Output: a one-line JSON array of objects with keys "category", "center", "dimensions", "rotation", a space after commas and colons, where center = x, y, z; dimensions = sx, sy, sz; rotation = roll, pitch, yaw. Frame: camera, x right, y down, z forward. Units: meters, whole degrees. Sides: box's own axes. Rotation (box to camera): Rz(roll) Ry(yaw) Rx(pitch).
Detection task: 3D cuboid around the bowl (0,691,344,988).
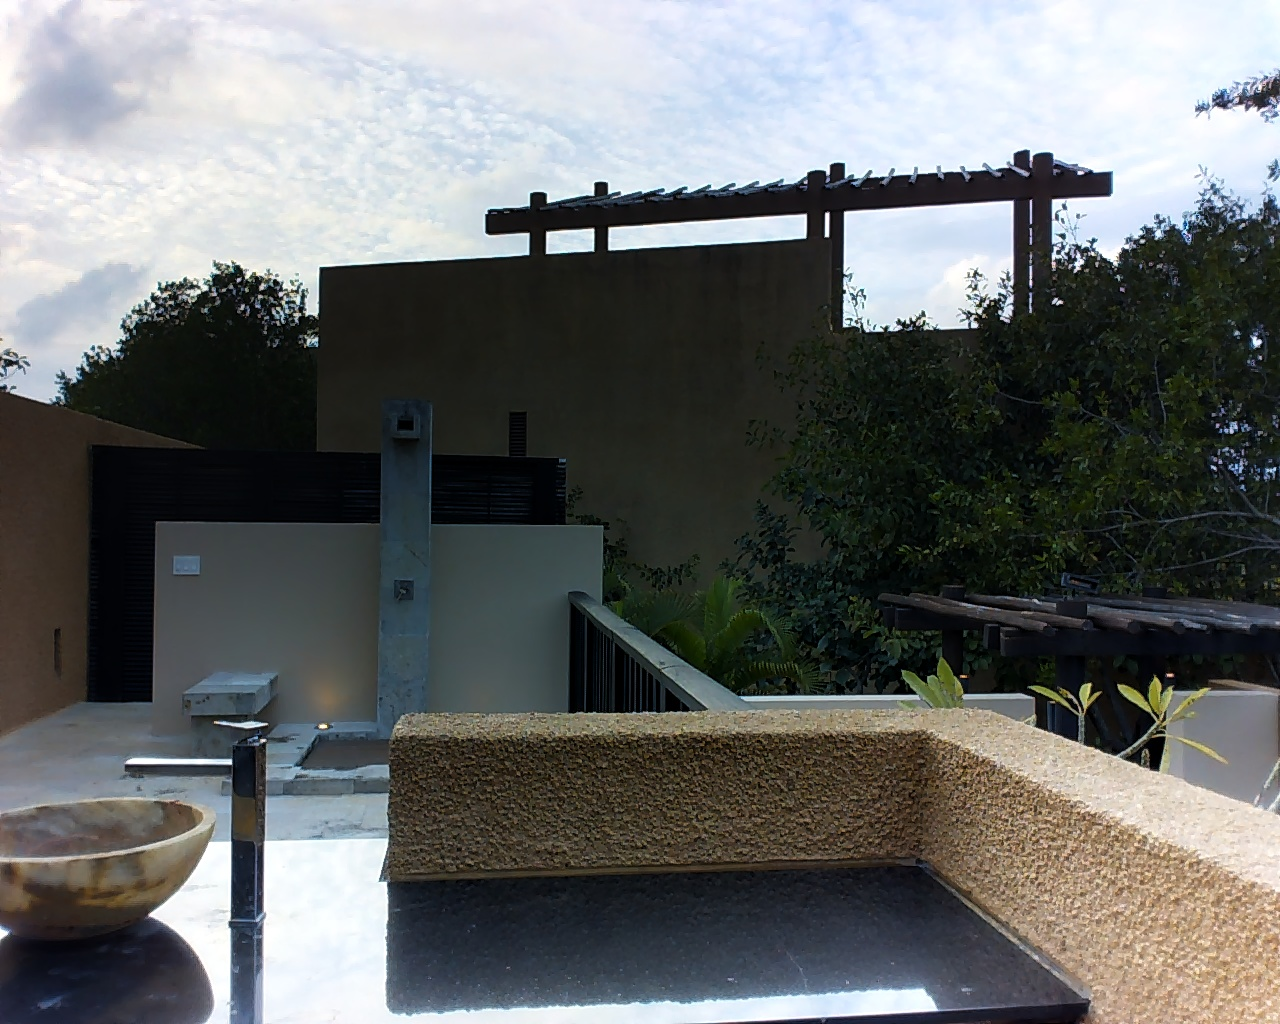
[{"category": "bowl", "center": [-0.800, 0.490, 1.720], "dimensions": [0.570, 0.330, 0.470], "rotation": [1, -1, -8]}]
